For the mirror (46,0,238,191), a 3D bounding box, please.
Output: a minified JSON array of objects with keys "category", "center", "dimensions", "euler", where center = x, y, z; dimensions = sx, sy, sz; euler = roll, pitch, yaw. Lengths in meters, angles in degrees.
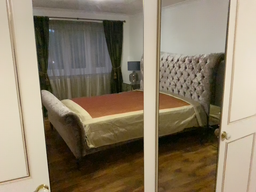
[{"category":"mirror","center":[0.160,0.070,1.310],"dimensions":[1.130,2.320,0.200],"euler":[-7,14,-27]}]
